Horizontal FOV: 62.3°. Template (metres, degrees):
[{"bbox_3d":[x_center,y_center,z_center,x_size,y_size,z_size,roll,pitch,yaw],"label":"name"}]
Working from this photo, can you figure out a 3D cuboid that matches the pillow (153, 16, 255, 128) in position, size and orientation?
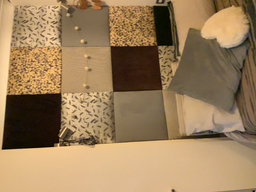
[{"bbox_3d":[0.610,-0.180,1.650,0.570,0.590,0.240,51,171,-25],"label":"pillow"}]

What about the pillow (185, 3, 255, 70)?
[{"bbox_3d":[0.710,-0.450,1.570,0.410,0.350,0.180,34,170,36],"label":"pillow"}]
